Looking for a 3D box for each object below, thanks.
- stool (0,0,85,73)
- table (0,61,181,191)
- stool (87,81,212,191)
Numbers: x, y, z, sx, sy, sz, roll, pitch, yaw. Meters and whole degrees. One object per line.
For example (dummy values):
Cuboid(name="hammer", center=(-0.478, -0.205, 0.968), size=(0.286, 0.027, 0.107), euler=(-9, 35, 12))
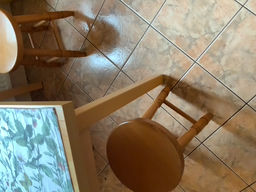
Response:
Cuboid(name="stool", center=(-0.540, -0.310, 1.190), size=(0.330, 0.450, 0.300), euler=(-2, 103, 29))
Cuboid(name="table", center=(-0.400, 0.260, 1.090), size=(1.100, 0.770, 0.690), euler=(-2, 103, 29))
Cuboid(name="stool", center=(0.140, 0.180, 0.970), size=(0.370, 0.450, 0.380), euler=(-6, 101, 29))
